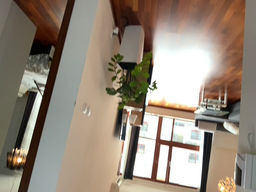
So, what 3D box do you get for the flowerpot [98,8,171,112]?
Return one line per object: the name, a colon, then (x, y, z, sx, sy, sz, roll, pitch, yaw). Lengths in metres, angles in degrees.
flowerpot: (0.150, -0.380, 2.810, 0.640, 0.920, 1.150, 8, 168, 9)
